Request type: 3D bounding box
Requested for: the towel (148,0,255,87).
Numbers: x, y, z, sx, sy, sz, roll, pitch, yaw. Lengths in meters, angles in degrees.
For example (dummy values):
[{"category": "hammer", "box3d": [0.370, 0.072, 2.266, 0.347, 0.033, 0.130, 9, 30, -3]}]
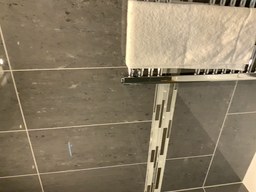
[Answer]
[{"category": "towel", "box3d": [0.320, -0.220, 0.810, 0.110, 0.440, 0.340, -106, 16, -56]}]
